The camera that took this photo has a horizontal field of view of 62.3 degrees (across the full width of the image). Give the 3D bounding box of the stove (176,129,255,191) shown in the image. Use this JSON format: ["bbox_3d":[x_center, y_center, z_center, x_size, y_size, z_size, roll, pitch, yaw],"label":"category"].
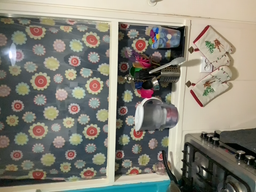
[{"bbox_3d":[0.470,0.570,1.160,0.590,0.140,0.620,-151,62,-74],"label":"stove"}]
